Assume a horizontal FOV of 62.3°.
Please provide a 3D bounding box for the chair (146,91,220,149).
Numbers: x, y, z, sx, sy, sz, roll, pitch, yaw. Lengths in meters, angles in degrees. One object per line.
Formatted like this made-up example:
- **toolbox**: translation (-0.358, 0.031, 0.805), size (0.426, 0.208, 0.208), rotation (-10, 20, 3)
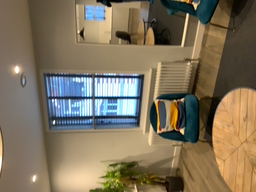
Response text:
- **chair**: translation (0.690, 0.280, 2.870), size (0.720, 0.740, 0.670), rotation (179, 90, -81)

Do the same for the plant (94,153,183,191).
- **plant**: translation (0.140, 1.570, 3.830), size (0.400, 1.480, 0.940), rotation (-108, 20, -64)

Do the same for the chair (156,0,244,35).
- **chair**: translation (0.780, -1.170, 2.370), size (0.640, 0.680, 0.710), rotation (99, 167, -47)

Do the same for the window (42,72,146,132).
- **window**: translation (-0.530, 0.110, 3.490), size (0.130, 1.560, 0.980), rotation (-110, 21, -66)
